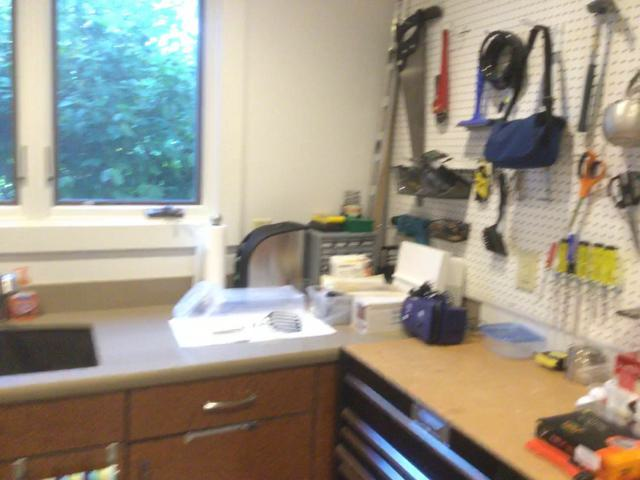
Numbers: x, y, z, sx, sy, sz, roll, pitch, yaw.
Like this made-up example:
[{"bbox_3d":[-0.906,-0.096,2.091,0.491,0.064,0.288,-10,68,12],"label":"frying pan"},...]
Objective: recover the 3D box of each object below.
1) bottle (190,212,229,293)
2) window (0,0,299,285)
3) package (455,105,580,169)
[{"bbox_3d":[-0.390,0.040,2.030,0.090,0.260,0.160,-1,8,-26],"label":"bottle"},{"bbox_3d":[-0.820,-0.600,1.810,1.530,1.450,0.220,-1,8,-26],"label":"window"},{"bbox_3d":[0.540,-0.280,1.610,0.170,0.150,0.280,-1,8,-26],"label":"package"}]
